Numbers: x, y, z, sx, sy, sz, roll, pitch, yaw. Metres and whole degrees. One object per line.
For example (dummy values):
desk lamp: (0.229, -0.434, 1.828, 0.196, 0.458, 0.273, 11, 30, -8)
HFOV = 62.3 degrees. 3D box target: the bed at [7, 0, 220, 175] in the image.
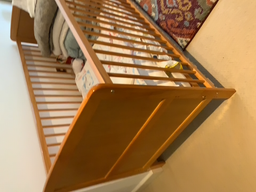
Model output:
bed: (-0.320, -0.400, 1.680, 1.600, 0.890, 0.790, 57, 131, 35)
